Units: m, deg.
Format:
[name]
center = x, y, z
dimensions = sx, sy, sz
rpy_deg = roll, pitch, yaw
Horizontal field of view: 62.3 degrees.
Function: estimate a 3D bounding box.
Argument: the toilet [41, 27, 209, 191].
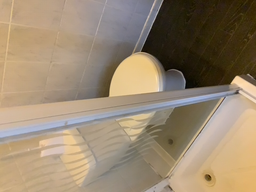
[toilet]
center = -0.020, 0.050, 1.330
dimensions = 0.440, 0.750, 0.700
rpy_deg = 43, 122, 32
